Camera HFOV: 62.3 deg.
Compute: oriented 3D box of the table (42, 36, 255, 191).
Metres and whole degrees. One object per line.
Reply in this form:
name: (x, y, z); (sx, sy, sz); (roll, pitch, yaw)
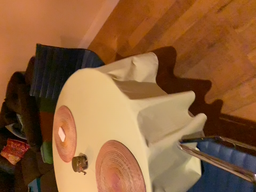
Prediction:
table: (0.030, 0.360, 1.440); (1.060, 0.750, 1.070); (46, 125, 40)
